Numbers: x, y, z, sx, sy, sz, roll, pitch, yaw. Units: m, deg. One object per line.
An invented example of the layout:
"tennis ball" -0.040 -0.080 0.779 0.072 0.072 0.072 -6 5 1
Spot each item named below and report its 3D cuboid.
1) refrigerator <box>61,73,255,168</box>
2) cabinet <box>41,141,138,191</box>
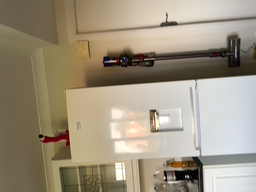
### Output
"refrigerator" 0.470 0.140 1.760 0.650 1.800 0.560 -78 -16 -83
"cabinet" -0.320 1.020 2.060 0.290 0.830 1.060 -78 -16 -83
